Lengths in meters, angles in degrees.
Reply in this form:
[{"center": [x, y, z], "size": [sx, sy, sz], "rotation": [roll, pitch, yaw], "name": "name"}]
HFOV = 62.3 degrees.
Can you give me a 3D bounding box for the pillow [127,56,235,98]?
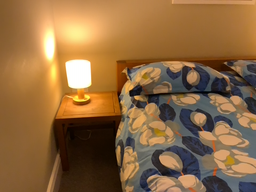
[{"center": [0.360, -0.160, 1.570], "size": [0.670, 0.160, 0.370], "rotation": [-4, 26, -12], "name": "pillow"}]
